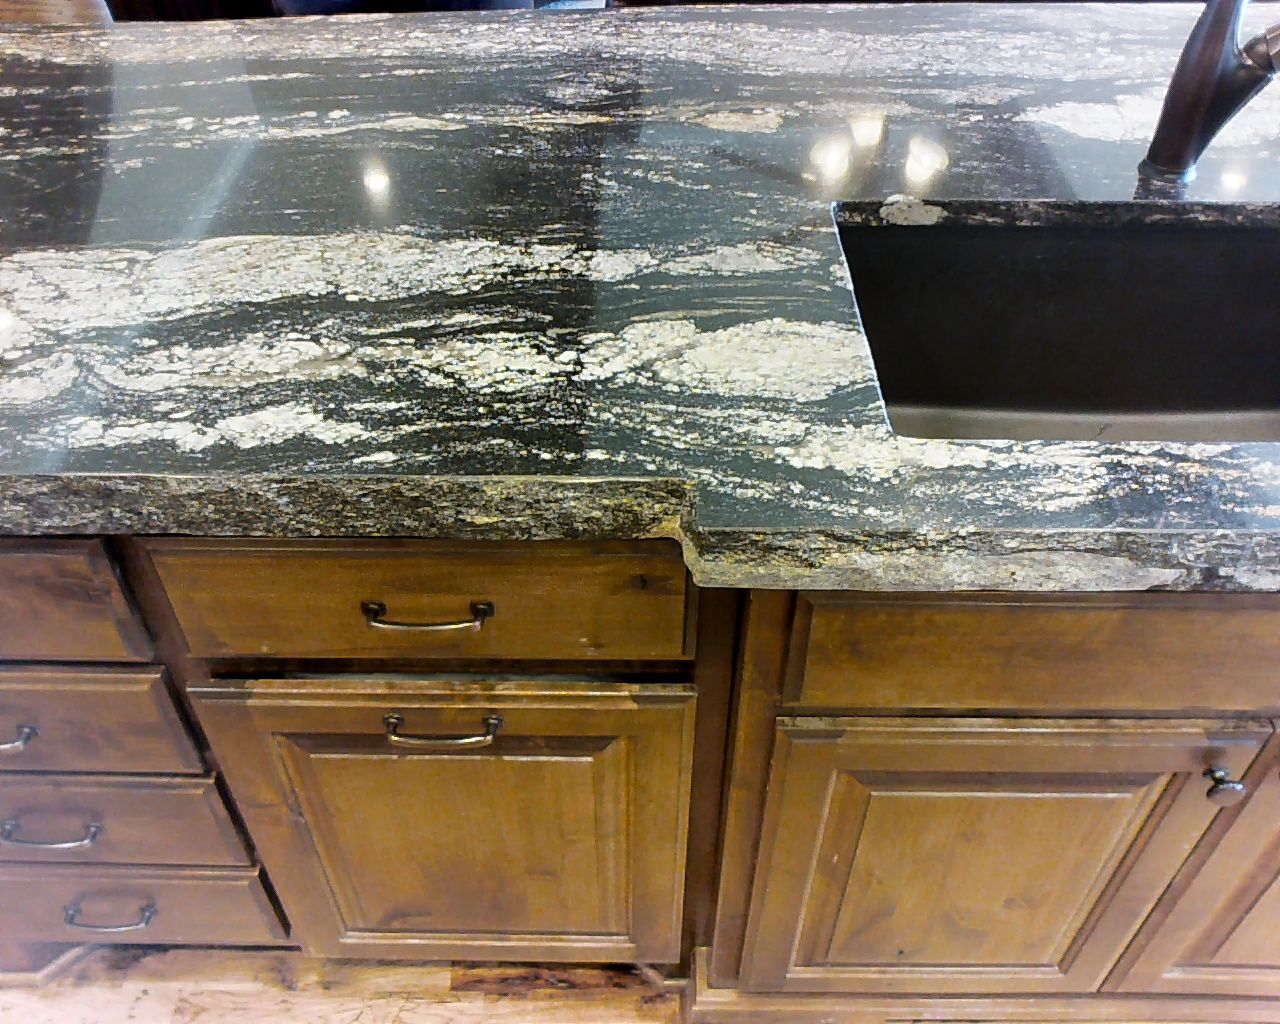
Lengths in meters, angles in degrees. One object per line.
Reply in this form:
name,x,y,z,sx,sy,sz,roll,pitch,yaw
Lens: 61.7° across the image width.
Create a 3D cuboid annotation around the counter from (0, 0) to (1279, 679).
counter,0.580,-0.330,1.210,3.050,0.180,1.160,0,43,0
